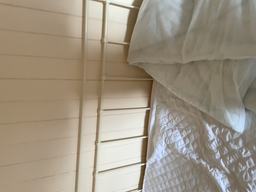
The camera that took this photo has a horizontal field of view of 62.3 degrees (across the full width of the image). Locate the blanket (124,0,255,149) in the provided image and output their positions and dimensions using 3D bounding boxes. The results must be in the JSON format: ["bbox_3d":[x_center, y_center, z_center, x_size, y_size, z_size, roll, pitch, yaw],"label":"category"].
[{"bbox_3d":[0.360,-0.350,1.060,0.920,0.260,0.900,21,109,56],"label":"blanket"}]
